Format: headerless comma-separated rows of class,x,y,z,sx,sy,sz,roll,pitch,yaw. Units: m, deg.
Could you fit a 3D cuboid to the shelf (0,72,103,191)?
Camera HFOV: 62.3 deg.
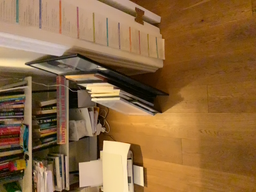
shelf,-0.880,0.390,1.840,0.430,1.330,1.100,-6,86,42
